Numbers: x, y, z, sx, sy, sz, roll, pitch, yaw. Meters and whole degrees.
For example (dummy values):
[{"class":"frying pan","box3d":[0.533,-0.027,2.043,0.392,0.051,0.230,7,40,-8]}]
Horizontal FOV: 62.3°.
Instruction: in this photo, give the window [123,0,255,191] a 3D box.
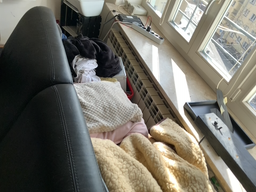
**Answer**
[{"class":"window","box3d":[0.670,-0.770,1.050,0.260,1.750,2.180,-3,45,-25]}]

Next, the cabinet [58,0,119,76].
[{"class":"cabinet","box3d":[-0.480,-0.690,2.320,0.440,0.820,0.480,-4,45,-26]}]
